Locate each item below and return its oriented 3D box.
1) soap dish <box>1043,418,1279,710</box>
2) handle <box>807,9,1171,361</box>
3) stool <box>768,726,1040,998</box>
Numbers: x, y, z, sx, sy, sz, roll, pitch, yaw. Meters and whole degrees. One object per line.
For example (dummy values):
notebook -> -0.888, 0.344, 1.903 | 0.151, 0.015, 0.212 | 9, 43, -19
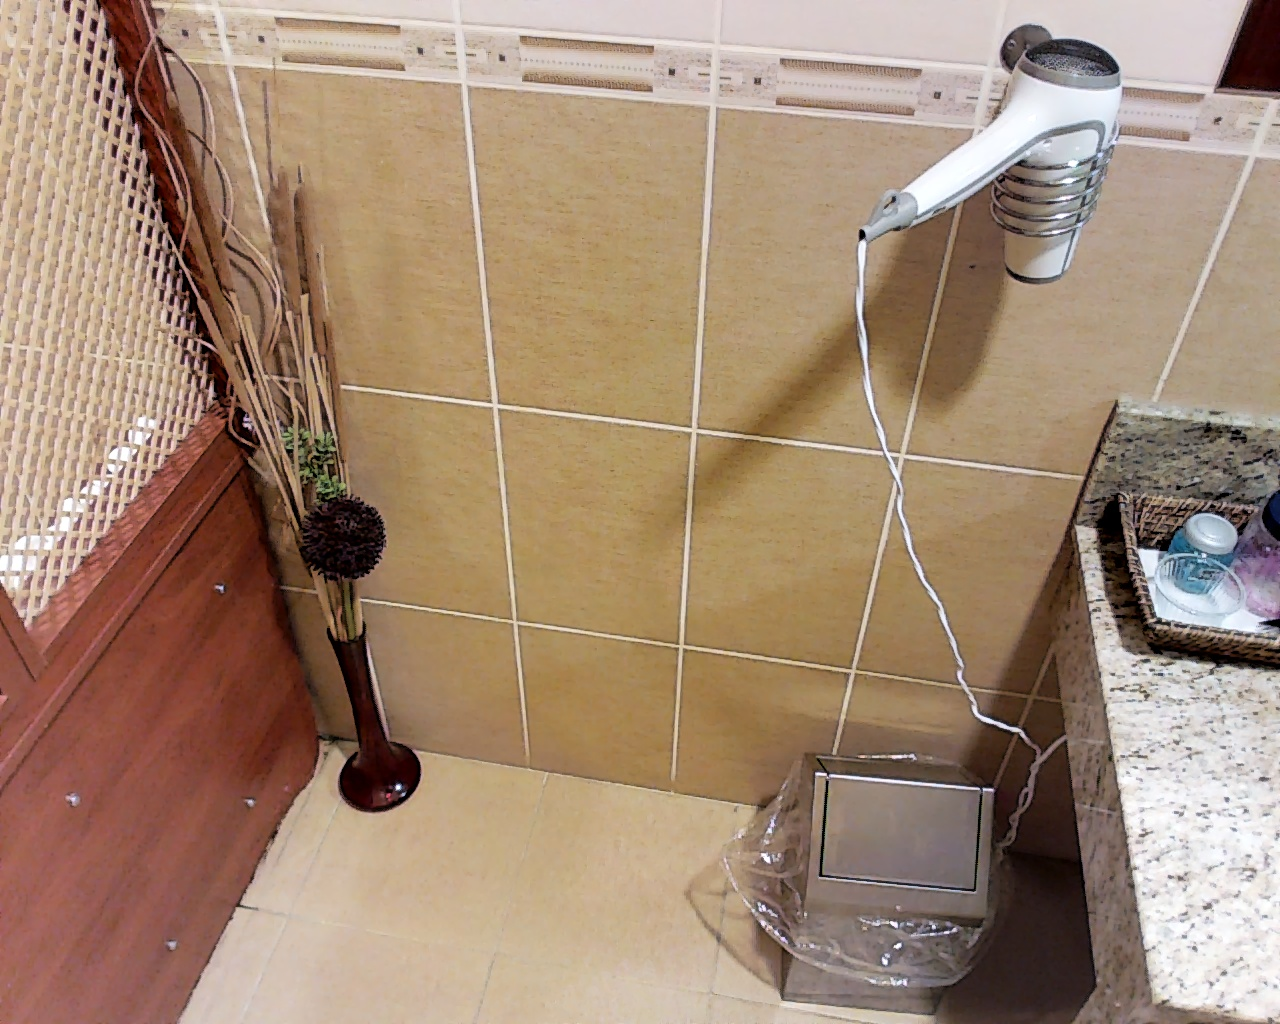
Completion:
soap dish -> 0.660, 0.060, 1.180 | 0.350, 0.180, 0.240 | 7, 43, 6
handle -> 0.280, -0.270, 0.880 | 0.280, 0.200, 0.080 | -25, 49, -26
stool -> 0.350, 0.490, 1.500 | 0.300, 0.310, 0.190 | 7, 43, 6
